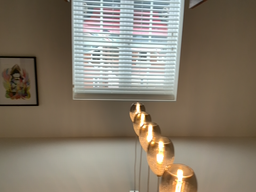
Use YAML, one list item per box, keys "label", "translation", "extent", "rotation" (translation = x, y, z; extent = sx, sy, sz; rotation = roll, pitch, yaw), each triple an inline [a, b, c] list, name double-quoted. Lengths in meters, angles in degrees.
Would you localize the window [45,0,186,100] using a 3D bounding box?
- label: "window"
  translation: [-0.130, -0.650, 2.430]
  extent: [1.530, 1.380, 0.110]
  rotation: [1, -169, -6]
